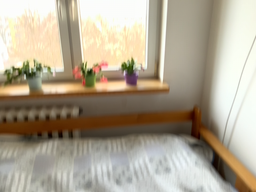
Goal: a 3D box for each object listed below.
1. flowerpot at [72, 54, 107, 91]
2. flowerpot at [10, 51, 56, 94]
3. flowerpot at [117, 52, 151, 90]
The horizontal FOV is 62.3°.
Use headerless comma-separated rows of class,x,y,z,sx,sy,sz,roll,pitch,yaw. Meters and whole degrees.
flowerpot,-0.320,-0.210,1.810,0.260,0.250,0.260,-3,21,-6
flowerpot,-0.750,-0.200,1.710,0.240,0.290,0.240,-2,21,-5
flowerpot,0.040,-0.230,1.880,0.250,0.260,0.280,-3,21,-8
